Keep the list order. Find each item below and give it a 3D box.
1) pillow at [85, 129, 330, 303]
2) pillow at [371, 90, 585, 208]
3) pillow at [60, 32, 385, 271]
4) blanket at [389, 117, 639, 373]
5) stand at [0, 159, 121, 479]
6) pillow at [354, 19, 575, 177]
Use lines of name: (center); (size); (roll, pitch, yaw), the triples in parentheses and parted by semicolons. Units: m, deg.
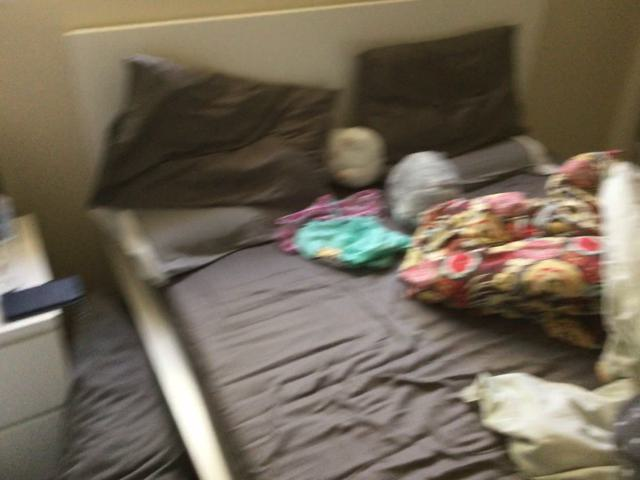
pillow: (-0.320, -0.100, 1.630); (0.550, 0.190, 0.440); (-17, 35, -23)
pillow: (0.520, -0.320, 1.920); (0.660, 0.180, 0.260); (-17, 35, -23)
pillow: (-0.240, -0.280, 1.630); (0.790, 0.440, 0.300); (-17, 35, -23)
blanket: (0.530, -0.030, 1.390); (0.560, 0.310, 0.440); (-17, 35, -23)
stand: (-0.860, 0.250, 1.460); (0.450, 0.660, 0.580); (-17, 35, -23)
pillow: (0.470, -0.490, 1.920); (0.680, 0.350, 0.240); (-17, 35, -23)
